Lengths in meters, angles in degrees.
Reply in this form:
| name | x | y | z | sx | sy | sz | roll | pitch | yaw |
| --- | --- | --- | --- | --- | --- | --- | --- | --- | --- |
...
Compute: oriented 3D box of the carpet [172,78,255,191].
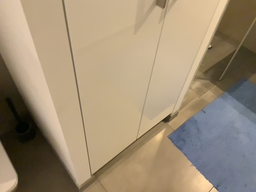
| name | x | y | z | sx | sy | sz | roll | pitch | yaw |
| --- | --- | --- | --- | --- | --- | --- | --- | --- | --- |
| carpet | 0.880 | 0.280 | 1.490 | 1.010 | 0.030 | 0.620 | -30 | 60 | -26 |
